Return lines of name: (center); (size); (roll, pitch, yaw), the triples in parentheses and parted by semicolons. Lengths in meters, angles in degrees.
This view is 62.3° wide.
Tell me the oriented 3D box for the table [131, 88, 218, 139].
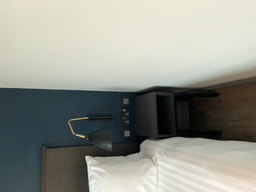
table: (0.360, 0.140, 1.720); (0.390, 0.560, 0.340); (166, 104, -66)
